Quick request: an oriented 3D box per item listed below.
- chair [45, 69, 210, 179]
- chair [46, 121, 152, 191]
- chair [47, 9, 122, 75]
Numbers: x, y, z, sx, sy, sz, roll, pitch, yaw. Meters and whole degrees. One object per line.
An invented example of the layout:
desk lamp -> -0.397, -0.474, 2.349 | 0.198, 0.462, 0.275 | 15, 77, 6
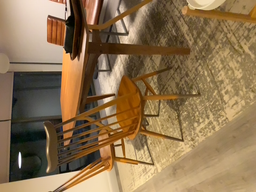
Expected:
chair -> -0.050, 0.120, 1.460 | 0.550, 0.940, 0.420 | -126, 40, -54
chair -> -0.310, 0.590, 2.150 | 0.430, 0.940, 0.560 | 154, 112, -66
chair -> -0.630, -0.700, 2.900 | 0.540, 0.860, 0.630 | 121, 141, -53
